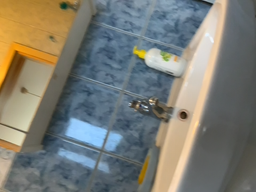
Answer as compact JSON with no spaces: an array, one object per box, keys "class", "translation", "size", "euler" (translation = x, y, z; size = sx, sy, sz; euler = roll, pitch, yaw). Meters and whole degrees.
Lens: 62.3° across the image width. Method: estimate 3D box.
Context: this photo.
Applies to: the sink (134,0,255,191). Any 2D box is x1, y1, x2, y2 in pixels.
[{"class":"sink","translation":[0.170,0.040,0.500],"size":[0.380,0.140,0.520],"euler":[94,-165,-80]}]
